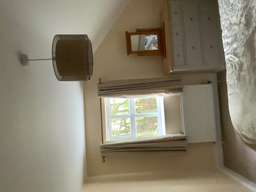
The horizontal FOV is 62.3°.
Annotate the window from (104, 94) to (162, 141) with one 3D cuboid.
[{"bbox_3d":[0.090,0.380,3.790,0.080,0.990,0.770,-178,-96,-87],"label":"window"}]

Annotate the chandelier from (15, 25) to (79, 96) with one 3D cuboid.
[{"bbox_3d":[-0.500,-0.210,1.380,0.330,0.290,0.340,98,-13,-77],"label":"chandelier"}]
